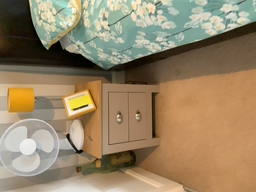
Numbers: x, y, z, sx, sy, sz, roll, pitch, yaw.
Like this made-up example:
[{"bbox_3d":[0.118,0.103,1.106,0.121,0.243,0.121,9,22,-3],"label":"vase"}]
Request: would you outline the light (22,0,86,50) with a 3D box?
[{"bbox_3d":[-0.430,-0.660,1.170,0.430,0.220,0.690,-5,86,56],"label":"light"}]
